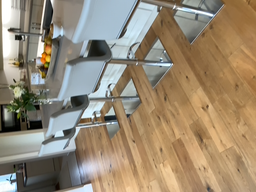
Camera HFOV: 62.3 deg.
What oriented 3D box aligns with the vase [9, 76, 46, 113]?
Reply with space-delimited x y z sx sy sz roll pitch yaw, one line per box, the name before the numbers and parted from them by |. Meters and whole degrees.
vase | -1.260 -0.020 2.640 0.330 0.380 0.300 -54 48 45
